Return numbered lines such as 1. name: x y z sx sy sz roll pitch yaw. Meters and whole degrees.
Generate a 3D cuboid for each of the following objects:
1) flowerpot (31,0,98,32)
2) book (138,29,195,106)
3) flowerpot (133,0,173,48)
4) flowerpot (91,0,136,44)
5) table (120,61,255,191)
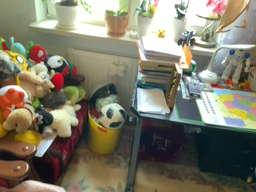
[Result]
1. flowerpot: -0.490 -0.870 1.680 0.400 0.570 0.360 13 33 8
2. book: 0.210 -0.220 1.380 0.260 0.230 0.610 7 33 -1
3. flowerpot: 0.220 -0.800 1.570 0.240 0.800 0.250 10 33 4
4. flowerpot: -0.120 -0.660 1.790 0.290 0.300 0.300 12 33 6
5. table: 0.550 0.300 1.560 1.090 0.760 0.660 9 33 1
